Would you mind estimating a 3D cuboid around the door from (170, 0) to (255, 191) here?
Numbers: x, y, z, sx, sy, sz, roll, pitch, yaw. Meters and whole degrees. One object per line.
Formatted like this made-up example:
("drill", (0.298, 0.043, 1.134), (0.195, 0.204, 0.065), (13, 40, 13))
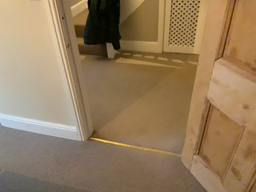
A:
("door", (0.570, -0.070, 0.800), (0.090, 2.120, 0.930), (-17, 39, -20))
